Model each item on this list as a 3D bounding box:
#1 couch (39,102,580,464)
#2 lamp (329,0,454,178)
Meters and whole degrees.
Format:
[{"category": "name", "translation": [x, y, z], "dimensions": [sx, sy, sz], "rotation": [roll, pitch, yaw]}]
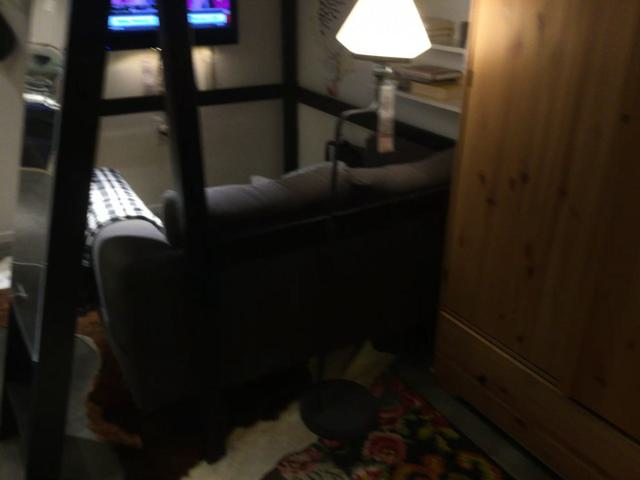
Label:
[{"category": "couch", "translation": [-0.060, -0.030, 2.270], "dimensions": [1.710, 0.700, 1.020], "rotation": [-11, 28, -26]}, {"category": "lamp", "translation": [0.200, -0.470, 1.730], "dimensions": [0.250, 0.490, 0.230], "rotation": [-11, 28, -26]}]
